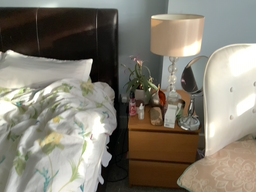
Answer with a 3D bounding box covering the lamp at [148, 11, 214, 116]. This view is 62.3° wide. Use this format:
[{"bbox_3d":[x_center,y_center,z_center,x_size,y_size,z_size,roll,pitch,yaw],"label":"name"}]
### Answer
[{"bbox_3d":[0.290,-0.210,1.320,0.290,0.550,0.340,4,28,6],"label":"lamp"}]
